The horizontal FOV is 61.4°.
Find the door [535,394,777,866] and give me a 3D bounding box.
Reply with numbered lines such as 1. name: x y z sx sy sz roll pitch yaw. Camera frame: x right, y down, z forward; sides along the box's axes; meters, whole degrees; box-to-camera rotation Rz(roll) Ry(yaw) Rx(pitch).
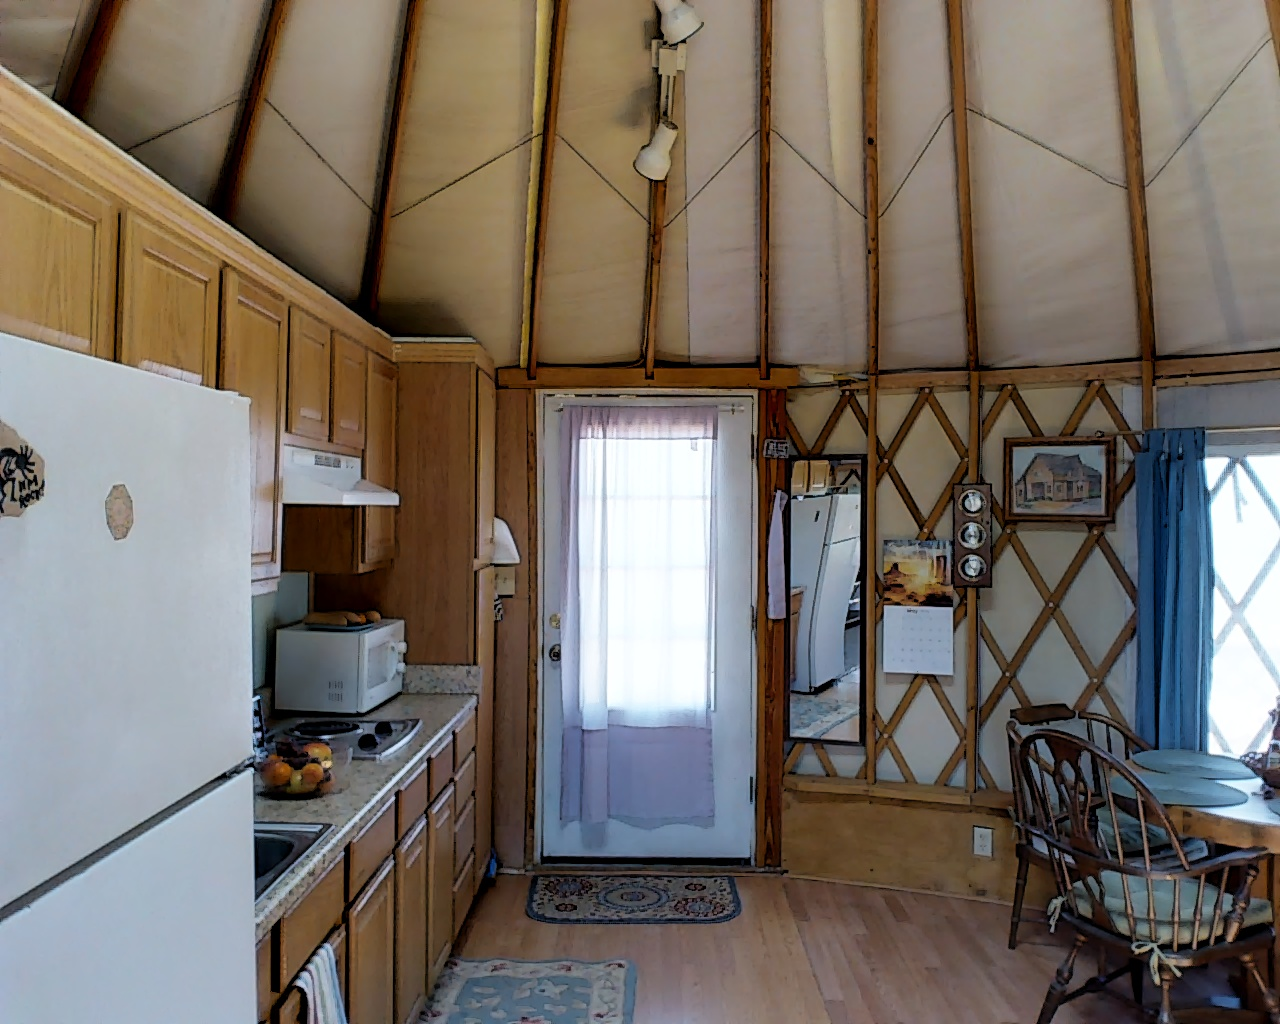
1. door: 0.070 0.510 4.730 1.040 2.040 0.070 0 0 1

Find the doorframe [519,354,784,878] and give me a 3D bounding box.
1. doorframe: 0.050 0.440 4.660 1.120 2.230 0.090 0 0 1

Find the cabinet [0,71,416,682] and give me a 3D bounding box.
1. cabinet: -1.060 -0.180 2.640 0.380 0.850 2.810 0 0 1
